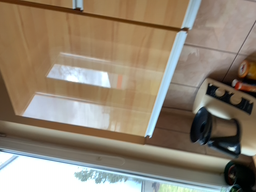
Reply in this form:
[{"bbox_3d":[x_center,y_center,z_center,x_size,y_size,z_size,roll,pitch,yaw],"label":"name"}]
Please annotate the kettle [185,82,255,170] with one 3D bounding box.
[{"bbox_3d":[0.510,0.160,1.080,0.320,0.330,0.250,101,179,-46],"label":"kettle"}]
